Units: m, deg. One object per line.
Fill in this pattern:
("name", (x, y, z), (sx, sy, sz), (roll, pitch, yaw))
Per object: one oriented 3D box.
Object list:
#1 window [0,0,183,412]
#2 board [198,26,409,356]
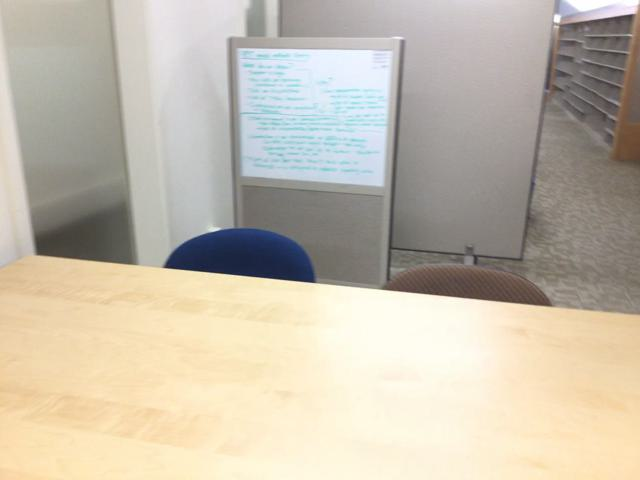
("window", (-0.830, -0.290, 1.950), (0.260, 1.380, 0.900), (4, 19, 12))
("board", (-0.050, -0.220, 2.560), (0.790, 1.350, 0.380), (4, 19, 12))
